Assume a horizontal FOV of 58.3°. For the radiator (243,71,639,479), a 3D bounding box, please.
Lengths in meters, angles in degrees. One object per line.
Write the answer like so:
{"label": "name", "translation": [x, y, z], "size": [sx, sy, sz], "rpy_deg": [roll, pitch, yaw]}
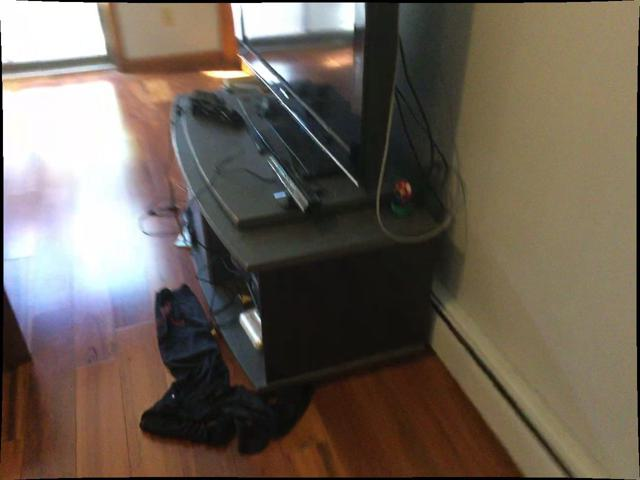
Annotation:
{"label": "radiator", "translation": [0.200, 0.000, 2.080], "size": [0.110, 0.260, 3.230], "rpy_deg": [-12, 36, -18]}

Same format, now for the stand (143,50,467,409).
{"label": "stand", "translation": [-0.160, -0.170, 2.030], "size": [0.660, 0.590, 1.270], "rpy_deg": [-12, 36, -18]}
